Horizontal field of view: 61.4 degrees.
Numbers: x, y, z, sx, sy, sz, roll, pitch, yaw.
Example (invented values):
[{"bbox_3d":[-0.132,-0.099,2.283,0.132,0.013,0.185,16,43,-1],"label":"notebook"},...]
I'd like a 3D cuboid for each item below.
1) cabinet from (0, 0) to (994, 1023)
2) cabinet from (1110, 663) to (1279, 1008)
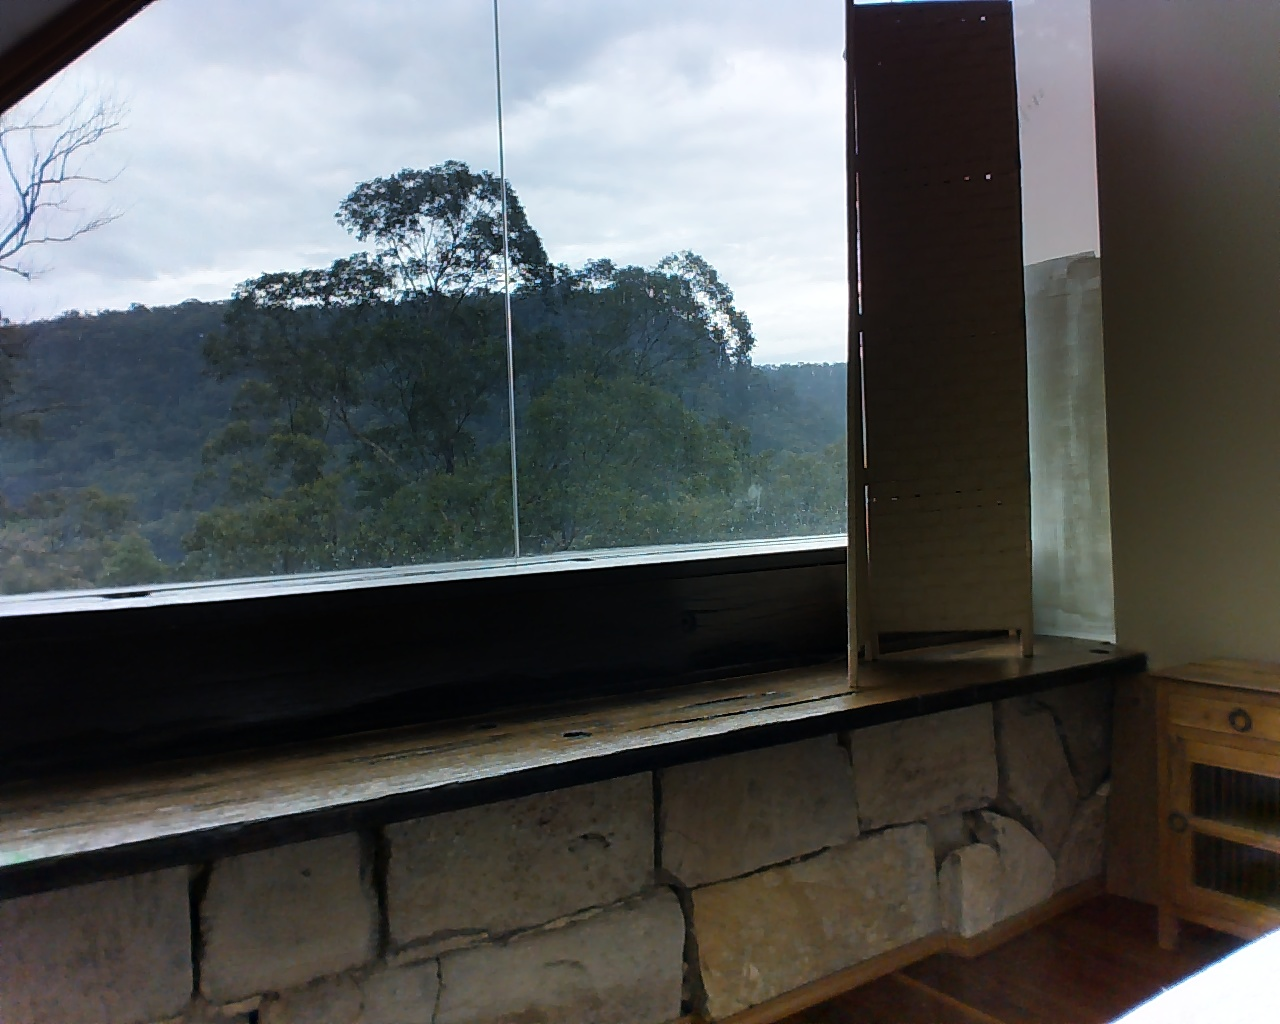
[{"bbox_3d":[-0.480,0.170,2.010,2.489,1.891,0.750,-2,1,-34],"label":"cabinet"},{"bbox_3d":[1.399,0.710,2.440,0.320,0.650,0.510,-2,1,-35],"label":"cabinet"}]
